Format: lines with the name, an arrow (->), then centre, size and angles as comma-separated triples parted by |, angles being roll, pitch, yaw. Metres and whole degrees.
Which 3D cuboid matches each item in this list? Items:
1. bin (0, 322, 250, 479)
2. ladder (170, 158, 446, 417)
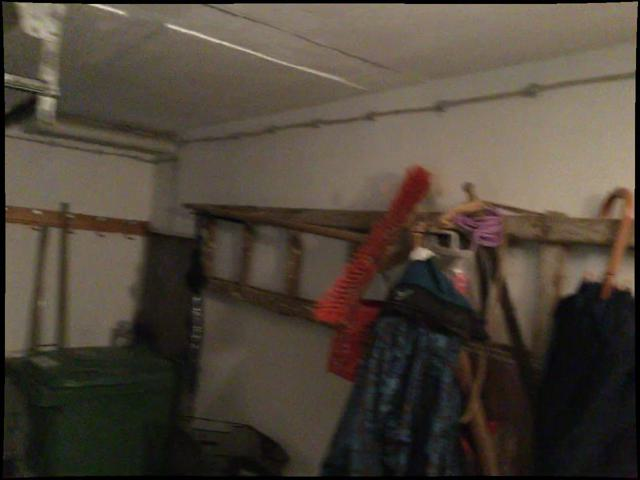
bin -> -0.959, 1.001, 2.550 | 0.770, 1.051, 0.930 | 7, 6, -38
ladder -> -0.200, 0.060, 2.320 | 0.110, 0.470, 1.640 | 7, 13, -38
